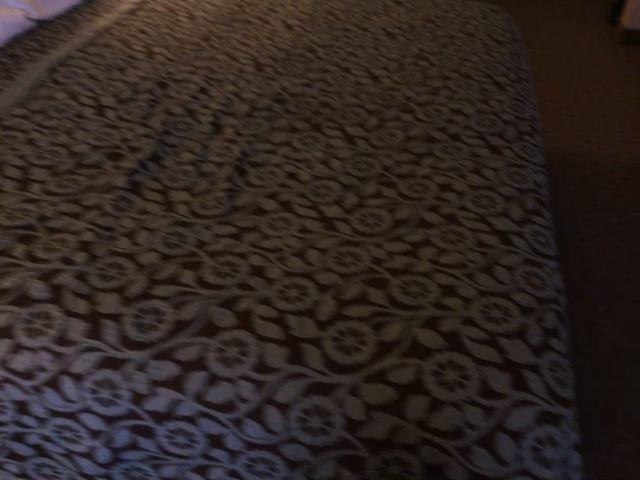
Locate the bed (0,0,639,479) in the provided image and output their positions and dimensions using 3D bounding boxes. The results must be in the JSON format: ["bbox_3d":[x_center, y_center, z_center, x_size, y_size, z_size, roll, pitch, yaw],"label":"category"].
[{"bbox_3d":[-0.390,-0.230,1.730,2.140,0.850,2.120,8,41,9],"label":"bed"}]
